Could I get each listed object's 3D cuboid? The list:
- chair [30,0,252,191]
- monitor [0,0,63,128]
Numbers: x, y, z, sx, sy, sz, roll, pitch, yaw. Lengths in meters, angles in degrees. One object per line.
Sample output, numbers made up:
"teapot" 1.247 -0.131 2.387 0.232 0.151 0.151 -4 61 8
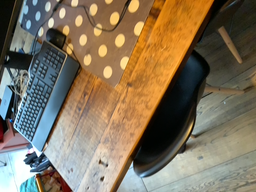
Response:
"chair" 0.120 0.000 0.990 0.580 0.790 0.470 32 108 31
"monitor" -0.530 -0.120 0.740 0.030 0.470 0.540 34 101 29
